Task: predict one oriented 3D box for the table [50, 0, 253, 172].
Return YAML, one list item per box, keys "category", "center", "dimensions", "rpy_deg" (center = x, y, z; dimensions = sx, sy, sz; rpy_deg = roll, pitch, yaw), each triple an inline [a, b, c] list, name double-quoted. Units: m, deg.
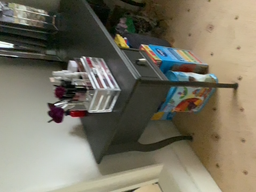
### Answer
- category: "table"
  center: [-0.010, -0.260, 1.480]
  dimensions: [1.260, 0.740, 0.580]
  rpy_deg: [59, 136, 39]
